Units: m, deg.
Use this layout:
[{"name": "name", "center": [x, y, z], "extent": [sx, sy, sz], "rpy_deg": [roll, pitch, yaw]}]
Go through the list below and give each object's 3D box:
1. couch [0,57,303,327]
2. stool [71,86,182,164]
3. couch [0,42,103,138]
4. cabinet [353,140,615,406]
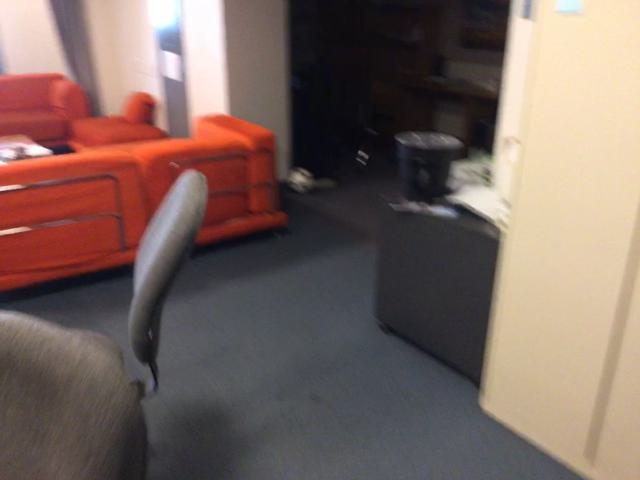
[{"name": "couch", "center": [-1.400, -0.480, 3.620], "extent": [1.940, 0.940, 1.670], "rpy_deg": [-14, 32, -33]}, {"name": "stool", "center": [-1.760, -1.070, 5.270], "extent": [0.660, 0.410, 0.930], "rpy_deg": [-14, 32, -33]}, {"name": "couch", "center": [-2.980, -1.420, 5.440], "extent": [1.520, 0.670, 0.940], "rpy_deg": [-14, 32, -33]}, {"name": "cabinet", "center": [0.690, 0.090, 2.670], "extent": [0.660, 0.840, 0.770], "rpy_deg": [-14, 32, -33]}]
